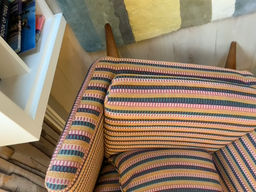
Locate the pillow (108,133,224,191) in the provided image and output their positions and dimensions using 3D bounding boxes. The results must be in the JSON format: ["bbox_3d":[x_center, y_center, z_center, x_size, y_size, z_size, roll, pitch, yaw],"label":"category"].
[{"bbox_3d":[0.160,0.340,0.880,0.430,0.290,0.090,15,125,3],"label":"pillow"}]
